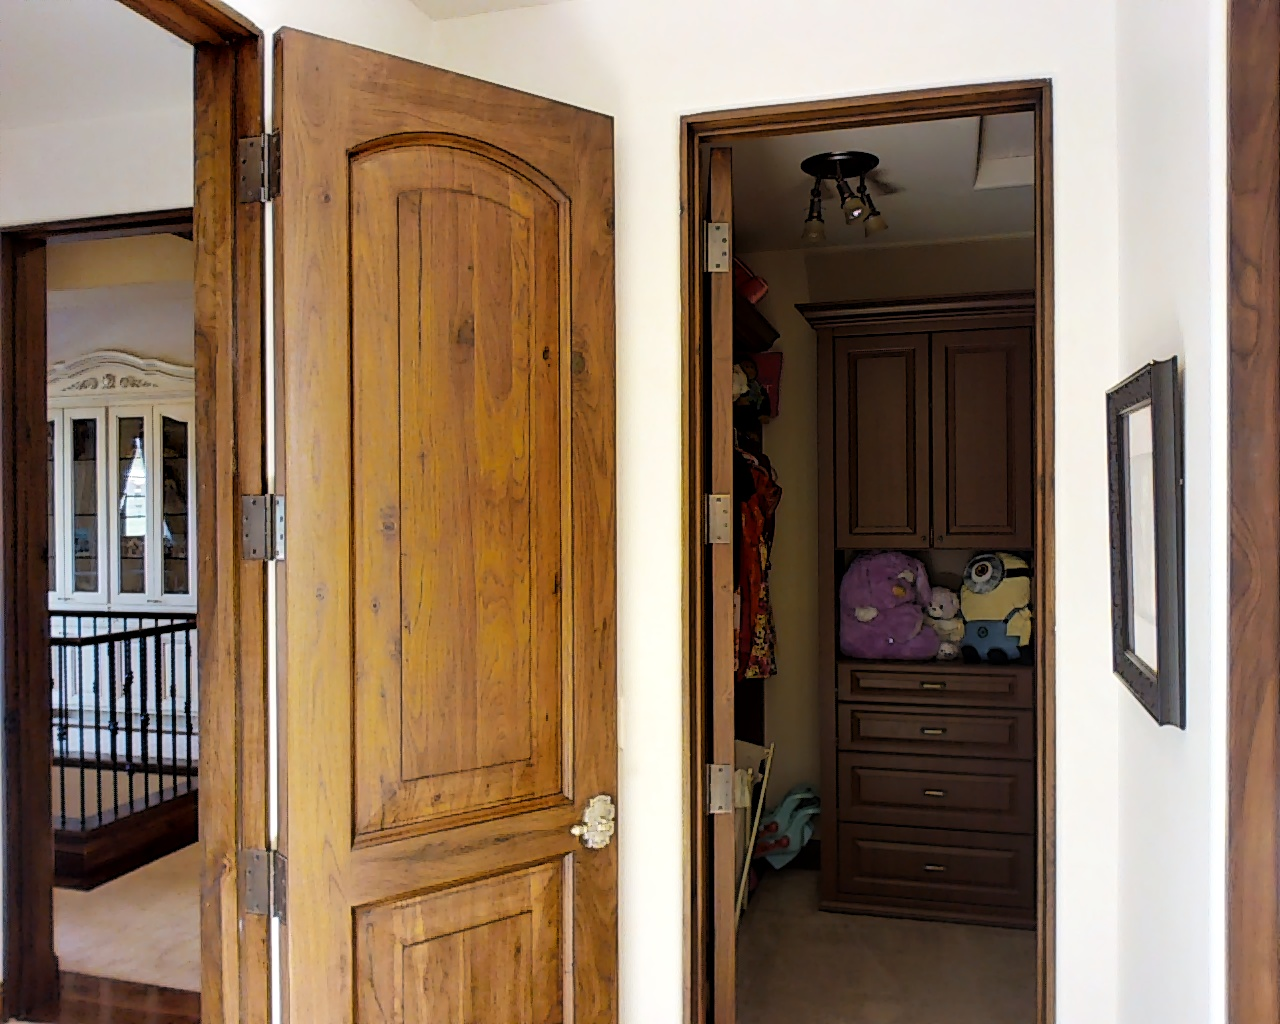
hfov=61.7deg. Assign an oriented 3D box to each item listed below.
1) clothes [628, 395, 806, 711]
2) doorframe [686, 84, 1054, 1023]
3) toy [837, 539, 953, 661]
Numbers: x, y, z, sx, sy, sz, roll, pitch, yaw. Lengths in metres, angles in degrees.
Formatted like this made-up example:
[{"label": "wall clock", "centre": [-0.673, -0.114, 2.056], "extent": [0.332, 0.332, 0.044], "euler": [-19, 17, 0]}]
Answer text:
[{"label": "clothes", "centre": [0.330, 0.140, 4.210], "extent": [0.540, 1.110, 0.800], "euler": [0, 1, 16]}, {"label": "doorframe", "centre": [0.500, 0.350, 2.360], "extent": [0.750, 2.400, 0.250], "euler": [0, 1, 16]}, {"label": "toy", "centre": [1.040, 0.340, 4.330], "extent": [0.430, 0.440, 0.470], "euler": [0, 1, 16]}]
